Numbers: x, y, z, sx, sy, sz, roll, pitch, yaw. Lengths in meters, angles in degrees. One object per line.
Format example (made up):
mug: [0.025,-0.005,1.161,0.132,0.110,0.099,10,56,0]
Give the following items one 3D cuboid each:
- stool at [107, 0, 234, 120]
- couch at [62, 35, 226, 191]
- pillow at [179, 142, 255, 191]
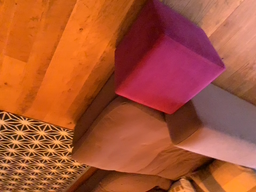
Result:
stool: [0.200,-0.220,1.260,0.500,0.440,0.440,19,132,-25]
couch: [0.010,0.240,1.600,0.560,0.610,1.070,21,131,-27]
pillow: [0.830,0.760,1.710,0.540,0.220,0.580,43,130,5]
